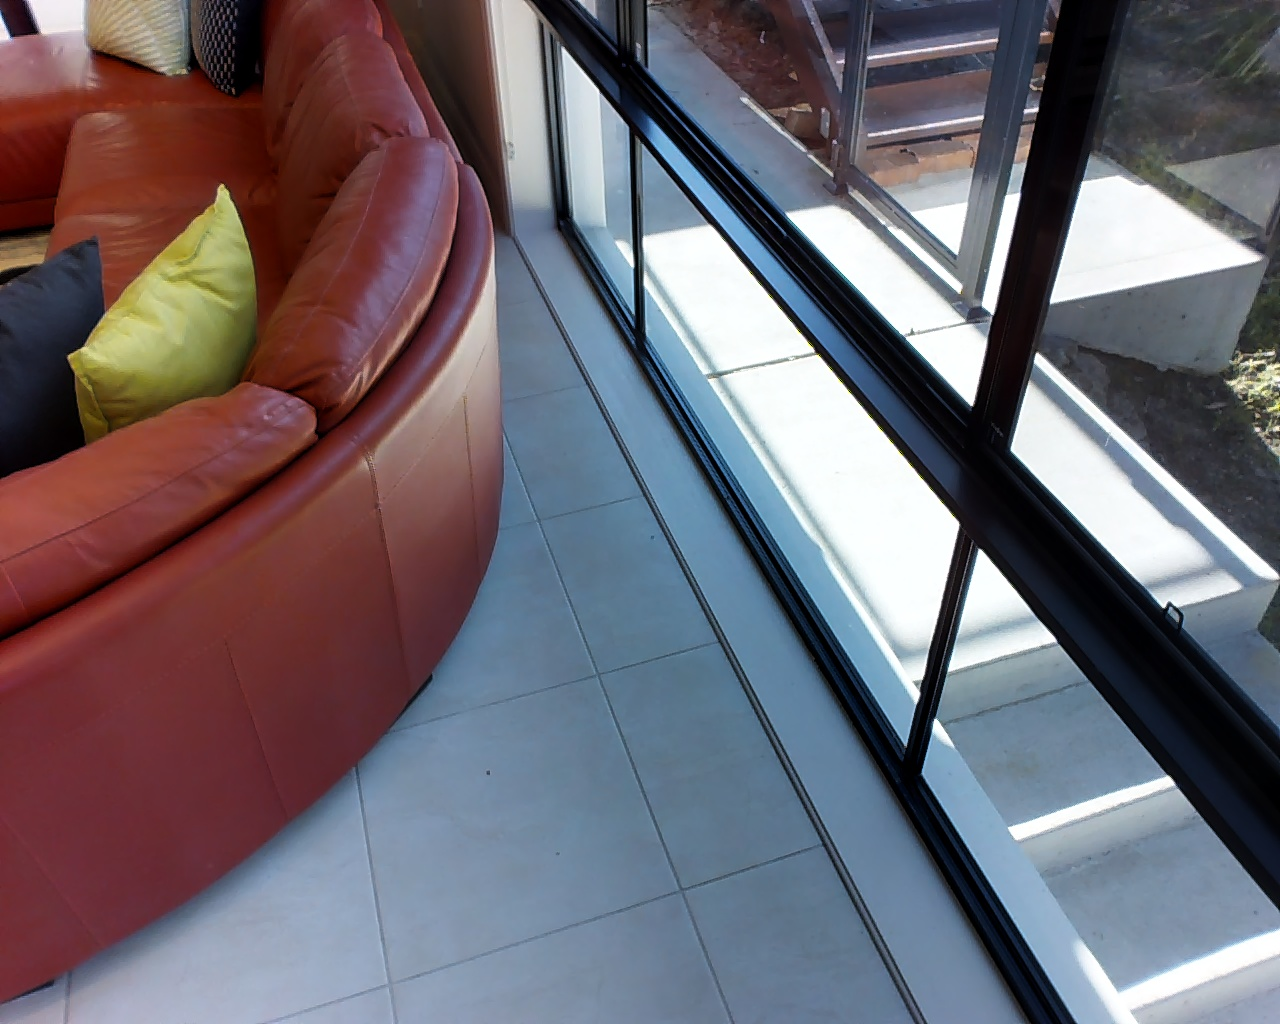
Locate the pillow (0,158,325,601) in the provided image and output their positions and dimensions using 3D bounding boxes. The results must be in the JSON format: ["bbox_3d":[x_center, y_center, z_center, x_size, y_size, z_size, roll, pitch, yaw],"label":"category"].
[{"bbox_3d":[-0.770,-0.210,1.710,0.250,0.440,0.500,14,53,7],"label":"pillow"}]
